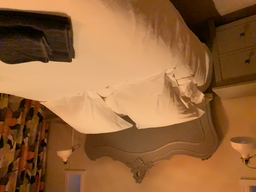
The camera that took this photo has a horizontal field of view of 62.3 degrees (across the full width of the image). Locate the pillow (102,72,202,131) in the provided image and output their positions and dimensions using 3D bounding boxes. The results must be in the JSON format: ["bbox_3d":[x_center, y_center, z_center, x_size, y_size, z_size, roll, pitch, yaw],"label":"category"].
[{"bbox_3d":[0.230,0.100,1.840,0.610,0.300,0.680,-10,162,30],"label":"pillow"}]

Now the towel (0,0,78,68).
[{"bbox_3d":[-0.500,-0.270,0.980,0.520,0.090,0.390,3,164,-13],"label":"towel"}]

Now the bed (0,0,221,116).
[{"bbox_3d":[-0.460,-0.380,1.710,1.730,0.600,2.190,-11,161,34],"label":"bed"}]

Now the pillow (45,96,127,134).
[{"bbox_3d":[-0.420,0.230,2.210,0.570,0.250,0.600,-11,161,34],"label":"pillow"}]
